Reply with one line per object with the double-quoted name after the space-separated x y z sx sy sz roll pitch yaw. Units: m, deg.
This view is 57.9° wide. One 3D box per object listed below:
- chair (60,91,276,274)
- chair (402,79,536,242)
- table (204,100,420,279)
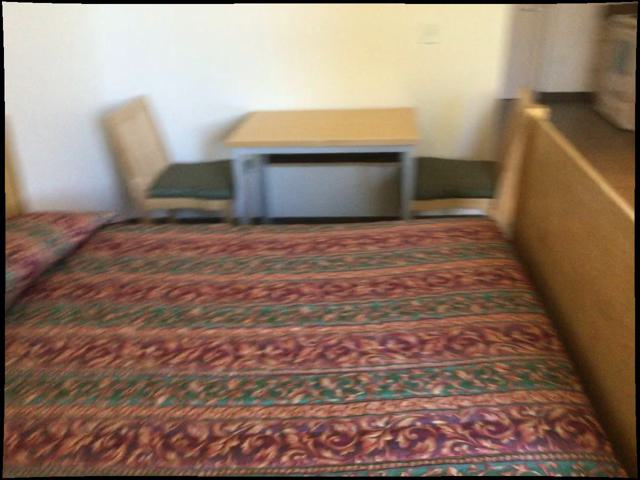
-0.769 -0.330 3.190 0.869 0.821 0.590 1 28 9 "chair"
0.709 -0.420 2.930 0.559 0.641 0.600 1 28 9 "chair"
0.020 -0.290 3.090 0.999 0.731 0.660 1 28 9 "table"
